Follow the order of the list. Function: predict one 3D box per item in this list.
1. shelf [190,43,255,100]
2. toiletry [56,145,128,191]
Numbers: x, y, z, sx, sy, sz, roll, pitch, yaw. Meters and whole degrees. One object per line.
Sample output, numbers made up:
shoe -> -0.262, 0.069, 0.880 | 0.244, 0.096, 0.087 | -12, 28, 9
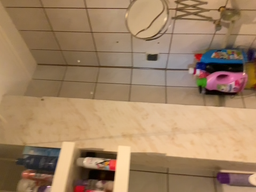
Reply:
shelf -> 0.620, -0.140, 1.260 | 0.220, 0.430, 0.240 | 85, -172, -65
toiletry -> -0.150, 0.540, 0.870 | 0.310, 0.250, 0.580 | 86, -173, -60
